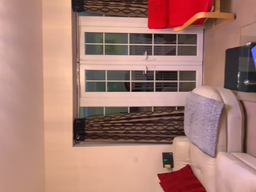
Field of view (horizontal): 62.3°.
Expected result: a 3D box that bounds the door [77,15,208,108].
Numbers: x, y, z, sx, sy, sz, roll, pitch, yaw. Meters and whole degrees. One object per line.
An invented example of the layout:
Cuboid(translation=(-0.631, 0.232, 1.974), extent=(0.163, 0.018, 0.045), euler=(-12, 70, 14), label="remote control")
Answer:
Cuboid(translation=(0.250, -0.530, 3.370), extent=(0.080, 2.060, 1.420), euler=(-166, 76, -85), label="door")
